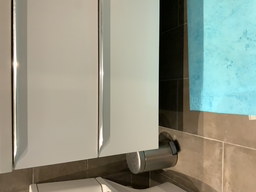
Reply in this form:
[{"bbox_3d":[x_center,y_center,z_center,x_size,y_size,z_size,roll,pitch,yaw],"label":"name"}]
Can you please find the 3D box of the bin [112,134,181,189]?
[{"bbox_3d":[0.100,0.370,1.280,0.310,0.290,0.190,5,94,61],"label":"bin"}]
